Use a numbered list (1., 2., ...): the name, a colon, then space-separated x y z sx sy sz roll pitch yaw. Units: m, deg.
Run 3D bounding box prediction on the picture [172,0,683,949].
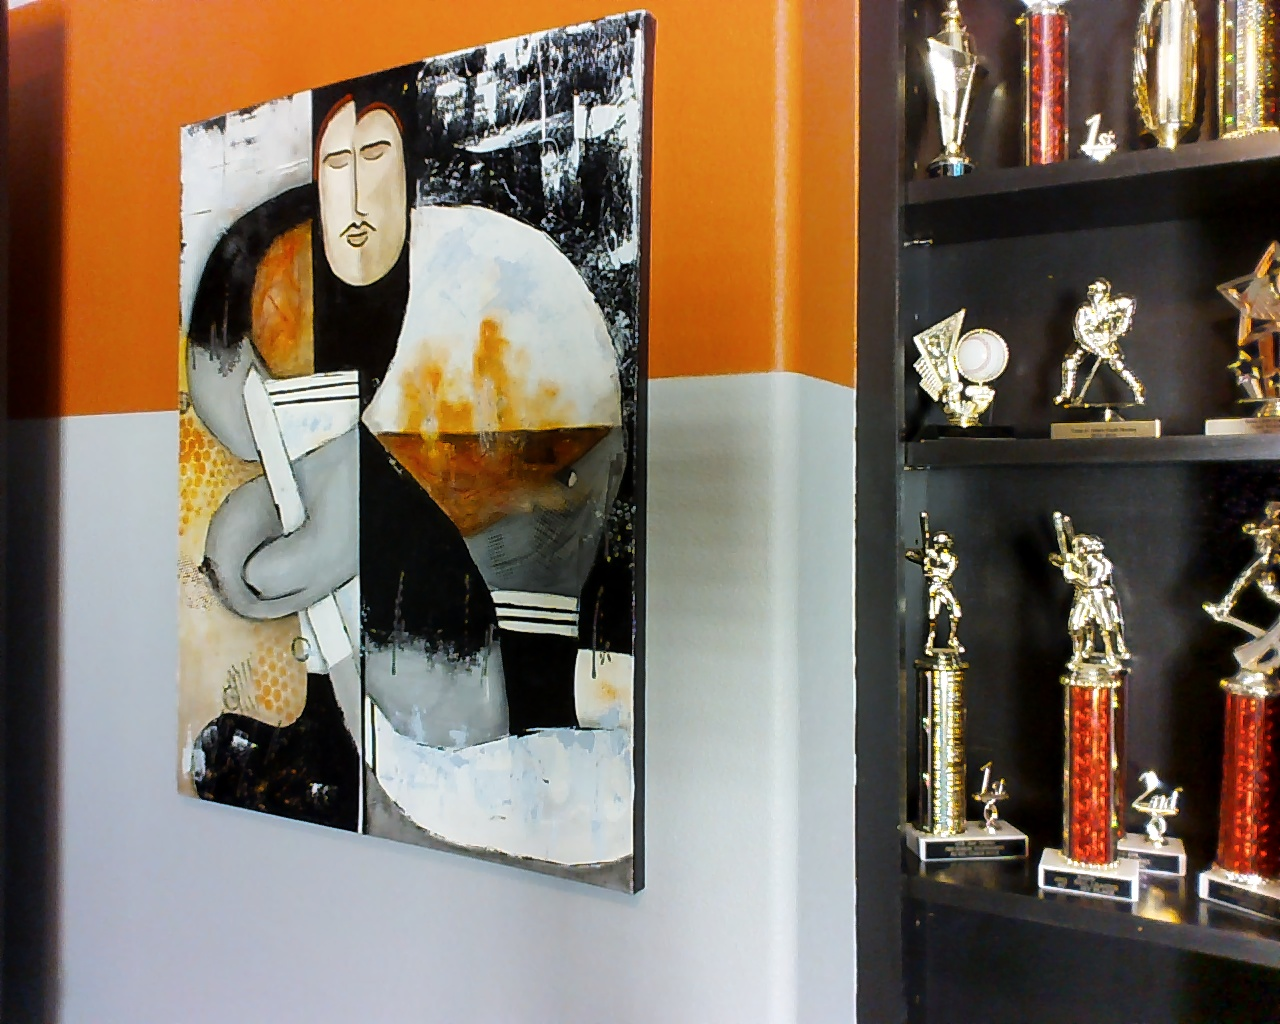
1. picture: -0.230 -0.030 1.000 0.590 0.750 0.030 0 0 29
